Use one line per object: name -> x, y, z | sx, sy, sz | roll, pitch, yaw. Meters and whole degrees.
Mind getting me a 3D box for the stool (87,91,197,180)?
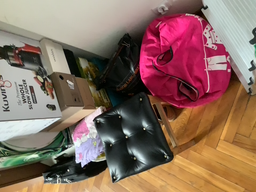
stool -> 0.100, 0.200, 1.180 | 0.340, 0.480, 0.300 | -30, 72, 27
